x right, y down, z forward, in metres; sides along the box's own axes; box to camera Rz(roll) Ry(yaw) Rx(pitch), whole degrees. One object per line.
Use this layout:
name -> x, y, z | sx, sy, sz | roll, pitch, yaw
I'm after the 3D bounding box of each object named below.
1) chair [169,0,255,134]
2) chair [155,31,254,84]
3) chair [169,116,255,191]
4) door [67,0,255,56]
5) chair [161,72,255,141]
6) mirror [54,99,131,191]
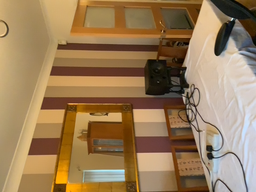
chair -> 0.900, -0.270, 1.260 | 0.710, 1.070, 0.650 | -95, 7, -50
chair -> 0.860, -0.480, 2.590 | 0.510, 0.940, 0.460 | -97, 8, -56
chair -> 0.910, 0.500, 1.800 | 0.510, 0.960, 0.450 | 95, 173, -49
door -> 0.370, -0.890, 2.500 | 0.180, 1.990, 0.970 | 96, 173, -52
chair -> 0.880, 0.110, 2.130 | 0.510, 0.960, 0.460 | 95, 173, -49
mirror -> -0.320, 0.460, 2.130 | 0.230, 0.630, 0.920 | 95, 173, -50
